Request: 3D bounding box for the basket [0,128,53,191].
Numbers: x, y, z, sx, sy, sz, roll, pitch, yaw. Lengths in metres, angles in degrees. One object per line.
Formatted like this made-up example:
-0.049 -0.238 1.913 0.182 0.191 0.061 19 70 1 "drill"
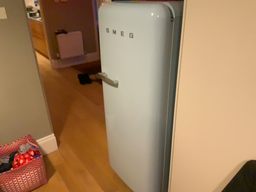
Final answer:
-0.930 0.580 1.850 0.380 0.340 0.410 -17 30 -29 "basket"
